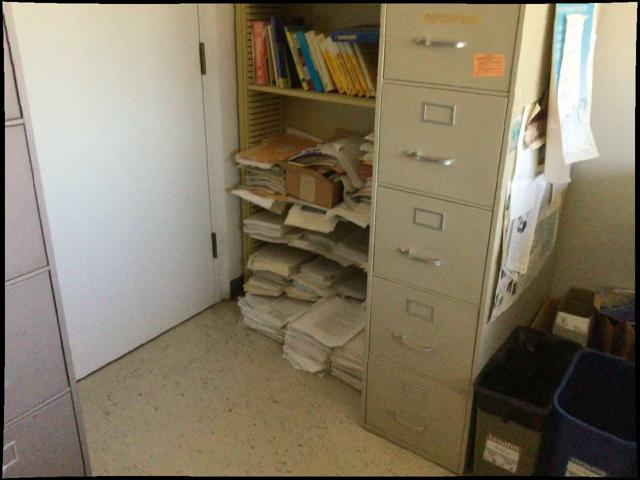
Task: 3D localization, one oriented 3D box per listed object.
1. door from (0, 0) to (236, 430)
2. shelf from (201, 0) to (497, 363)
[{"bbox_3d":[-0.768,-0.541,2.020,0.130,2.175,1.139,16,27,30],"label":"door"},{"bbox_3d":[0.080,-0.632,2.290,1.028,1.994,0.460,16,28,30],"label":"shelf"}]
